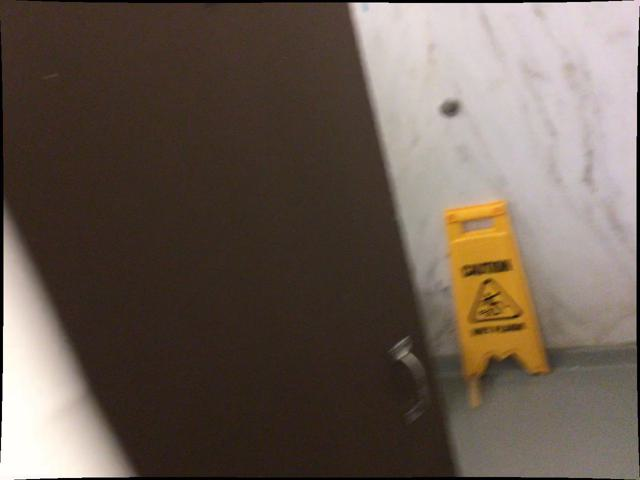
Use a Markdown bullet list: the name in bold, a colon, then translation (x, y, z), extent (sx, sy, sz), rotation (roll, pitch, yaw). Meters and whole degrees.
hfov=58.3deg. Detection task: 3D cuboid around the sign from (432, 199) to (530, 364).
- **sign**: translation (0.599, 0.170, 2.110), extent (0.300, 0.640, 0.080), rotation (-3, 26, 19)
